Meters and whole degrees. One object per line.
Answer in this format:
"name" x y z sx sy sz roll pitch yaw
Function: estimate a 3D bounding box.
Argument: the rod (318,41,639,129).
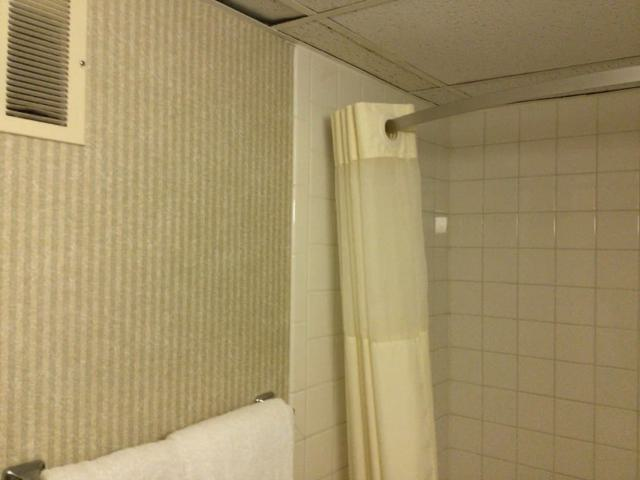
"rod" 0.490 -0.260 0.850 1.150 0.040 0.120 0 2 37
